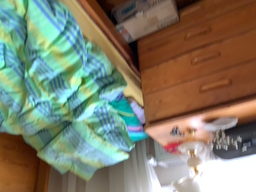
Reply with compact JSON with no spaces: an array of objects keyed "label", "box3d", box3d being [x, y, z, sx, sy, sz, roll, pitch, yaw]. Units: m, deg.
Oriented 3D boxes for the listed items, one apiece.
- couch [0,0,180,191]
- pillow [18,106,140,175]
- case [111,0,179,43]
[{"label":"couch","box3d":[-0.720,-0.150,0.700,1.050,0.950,2.260,-18,145,21]},{"label":"pillow","box3d":[-0.270,0.290,1.220,0.560,0.180,0.360,-19,145,23]},{"label":"case","box3d":[0.080,-0.430,1.080,0.300,0.180,0.130,-17,146,20]}]
